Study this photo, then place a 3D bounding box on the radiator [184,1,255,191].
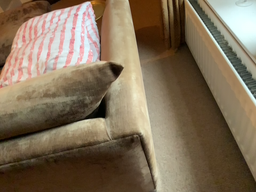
[{"bbox_3d":[0.530,0.010,1.080,0.090,0.360,1.450,-13,47,8],"label":"radiator"}]
